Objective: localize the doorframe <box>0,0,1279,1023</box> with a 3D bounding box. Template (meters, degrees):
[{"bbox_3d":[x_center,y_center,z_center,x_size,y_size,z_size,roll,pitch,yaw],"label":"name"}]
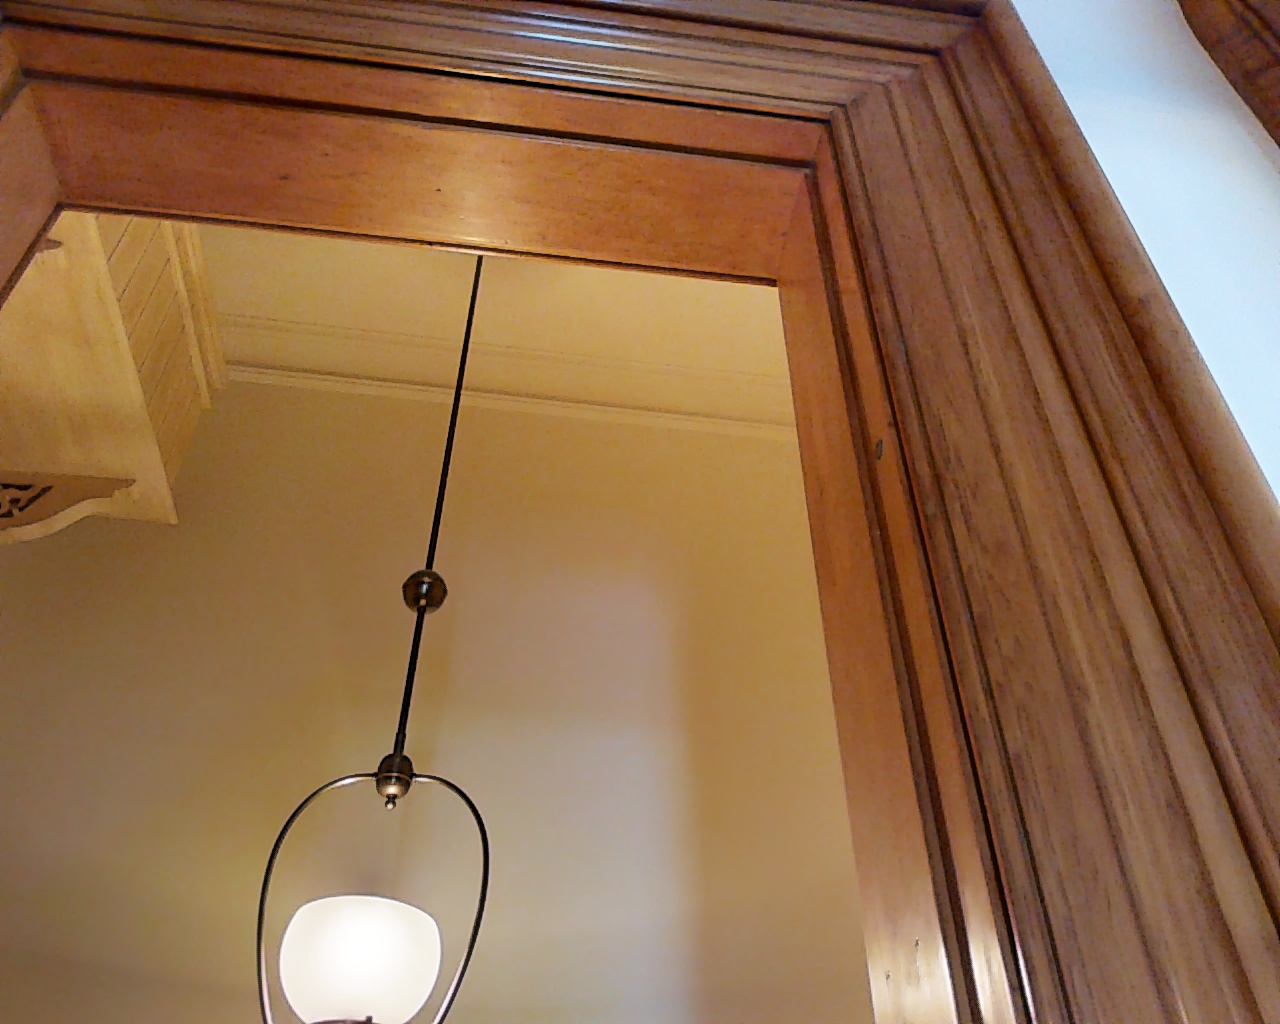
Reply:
[{"bbox_3d":[-0.250,0.410,0.510,1.579,3.051,0.550,6,-42,-6],"label":"doorframe"}]
